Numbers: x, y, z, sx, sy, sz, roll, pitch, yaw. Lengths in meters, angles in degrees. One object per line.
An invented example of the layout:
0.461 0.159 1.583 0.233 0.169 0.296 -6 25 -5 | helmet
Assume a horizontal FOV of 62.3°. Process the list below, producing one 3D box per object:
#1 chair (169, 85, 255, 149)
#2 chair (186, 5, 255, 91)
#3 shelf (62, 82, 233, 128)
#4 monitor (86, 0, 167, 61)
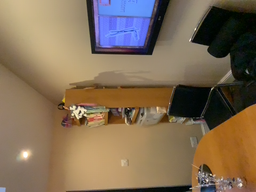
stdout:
0.930 0.200 2.170 0.480 0.840 0.420 -99 11 -51 | chair
0.980 -0.360 1.700 0.430 0.830 0.490 104 164 -65 | chair
0.230 0.130 2.850 0.670 2.040 0.330 102 165 -62 | shelf
-0.030 -0.550 1.580 0.930 0.530 0.040 103 165 -63 | monitor
